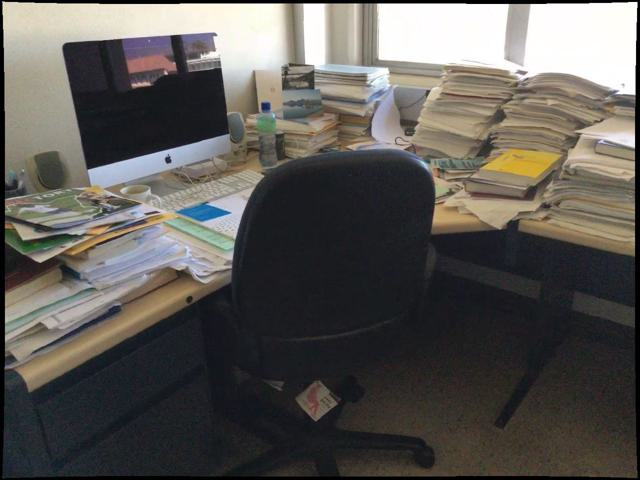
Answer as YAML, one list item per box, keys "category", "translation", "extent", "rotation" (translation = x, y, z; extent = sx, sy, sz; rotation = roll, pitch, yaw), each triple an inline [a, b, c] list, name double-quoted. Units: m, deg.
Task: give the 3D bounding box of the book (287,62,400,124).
- category: "book"
  translation: [0.100, -0.602, 2.320]
  extent: [0.310, 0.160, 0.330]
  rotation: [17, 32, 36]

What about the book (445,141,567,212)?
- category: "book"
  translation: [0.559, -0.201, 1.720]
  extent: [0.230, 0.080, 0.340]
  rotation: [17, 32, 36]

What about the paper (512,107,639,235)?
- category: "paper"
  translation: [0.798, -0.201, 1.550]
  extent: [0.389, 0.190, 0.420]
  rotation: [17, 32, 36]

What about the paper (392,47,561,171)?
- category: "paper"
  translation: [0.569, -0.501, 2.100]
  extent: [0.399, 0.311, 0.510]
  rotation: [17, 32, 36]

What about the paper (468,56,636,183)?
- category: "paper"
  translation: [0.748, -0.411, 1.870]
  extent: [0.369, 0.291, 0.390]
  rotation: [17, 32, 36]

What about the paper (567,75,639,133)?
- category: "paper"
  translation: [0.938, -0.401, 1.700]
  extent: [0.320, 0.110, 0.220]
  rotation: [17, 32, 36]
